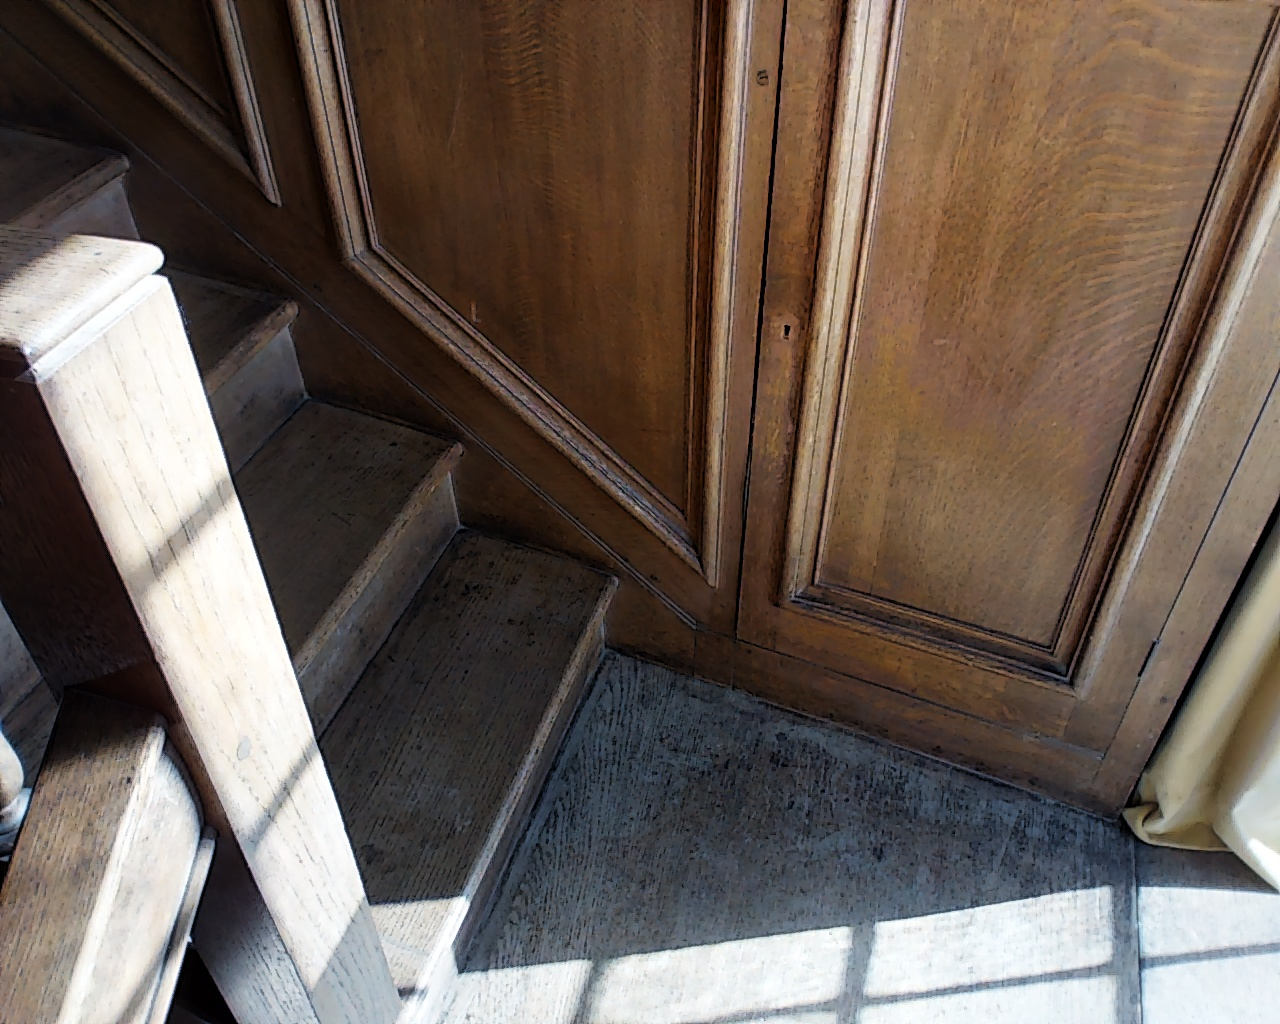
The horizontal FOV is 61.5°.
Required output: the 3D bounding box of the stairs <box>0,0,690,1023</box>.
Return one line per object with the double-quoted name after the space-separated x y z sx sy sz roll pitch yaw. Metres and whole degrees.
-0.830 -0.220 1.250 1.580 1.260 0.890 12 43 13 "stairs"
